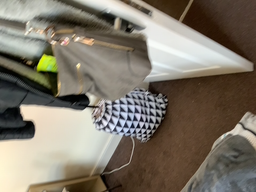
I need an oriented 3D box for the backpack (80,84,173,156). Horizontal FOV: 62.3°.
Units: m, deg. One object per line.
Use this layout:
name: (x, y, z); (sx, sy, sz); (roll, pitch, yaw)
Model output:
backpack: (-0.010, 0.180, 1.660); (0.370, 0.520, 0.350); (48, 119, 39)
